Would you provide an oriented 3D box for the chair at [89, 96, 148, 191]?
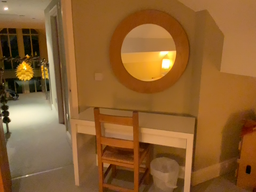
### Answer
[{"bbox_3d":[-0.070,0.520,2.020,0.410,0.940,0.410,5,15,19],"label":"chair"}]

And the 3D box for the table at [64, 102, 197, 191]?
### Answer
[{"bbox_3d":[0.040,0.560,2.190,1.210,0.780,0.520,5,15,18],"label":"table"}]
